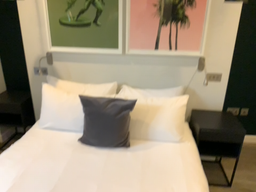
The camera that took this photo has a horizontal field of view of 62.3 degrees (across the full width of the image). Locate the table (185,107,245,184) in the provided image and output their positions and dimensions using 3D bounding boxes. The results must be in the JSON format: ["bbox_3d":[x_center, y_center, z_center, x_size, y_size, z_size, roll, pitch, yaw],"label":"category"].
[{"bbox_3d":[0.860,0.500,2.210,0.400,0.640,0.400,4,22,7],"label":"table"}]

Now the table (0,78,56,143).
[{"bbox_3d":[-1.260,0.170,2.720,0.420,0.660,0.440,5,22,10],"label":"table"}]
